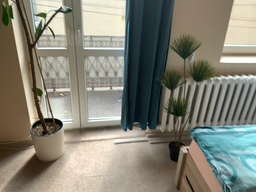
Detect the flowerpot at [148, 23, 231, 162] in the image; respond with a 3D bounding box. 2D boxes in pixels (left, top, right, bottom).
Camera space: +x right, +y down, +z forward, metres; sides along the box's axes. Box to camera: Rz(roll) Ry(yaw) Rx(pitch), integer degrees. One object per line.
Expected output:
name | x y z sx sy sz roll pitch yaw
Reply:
flowerpot | 0.450 0.010 1.800 0.410 1.140 0.330 2 26 -3
